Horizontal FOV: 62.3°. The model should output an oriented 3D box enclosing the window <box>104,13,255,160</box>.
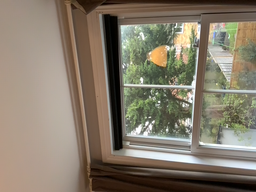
[{"bbox_3d":[0.560,-0.030,1.650,0.030,1.470,1.130,-60,-29,-65],"label":"window"}]
